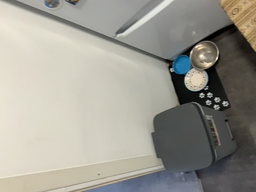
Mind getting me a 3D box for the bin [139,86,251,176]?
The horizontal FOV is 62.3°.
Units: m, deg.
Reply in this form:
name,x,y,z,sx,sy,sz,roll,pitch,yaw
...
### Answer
name,x,y,z,sx,sy,sz,roll,pitch,yaw
bin,0.370,0.190,1.130,0.290,0.510,0.320,-31,64,35
